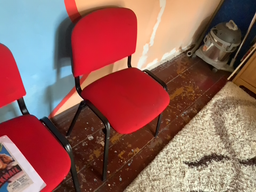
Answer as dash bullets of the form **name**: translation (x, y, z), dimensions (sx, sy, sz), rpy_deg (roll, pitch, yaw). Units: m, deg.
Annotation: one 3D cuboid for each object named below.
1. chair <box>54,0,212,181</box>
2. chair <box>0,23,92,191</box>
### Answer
- **chair**: translation (-0.050, -0.020, 1.320), dimensions (0.590, 0.820, 0.520), rpy_deg (42, 50, 20)
- **chair**: translation (-0.570, 0.260, 0.890), dimensions (0.540, 0.830, 0.510), rpy_deg (42, 50, 20)
